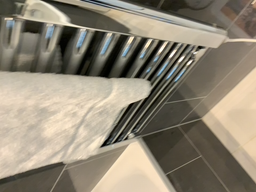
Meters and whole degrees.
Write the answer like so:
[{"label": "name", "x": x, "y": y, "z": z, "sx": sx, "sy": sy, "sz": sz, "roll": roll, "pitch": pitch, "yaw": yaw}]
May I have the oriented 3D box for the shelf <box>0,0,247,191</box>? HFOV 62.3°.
[{"label": "shelf", "x": -0.140, "y": 0.050, "z": 0.430, "sx": 0.500, "sy": 0.930, "sz": 0.040, "roll": -52, "pitch": 58, "yaw": 37}]
